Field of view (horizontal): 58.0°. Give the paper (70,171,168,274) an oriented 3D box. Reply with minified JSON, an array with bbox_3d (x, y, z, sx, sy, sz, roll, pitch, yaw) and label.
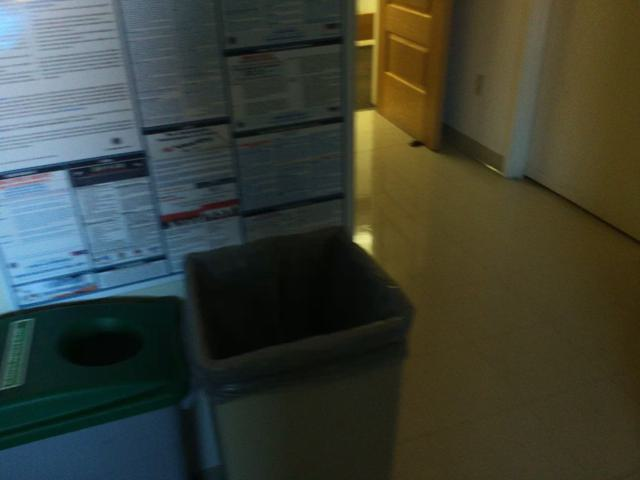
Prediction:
[{"bbox_3d":[-0.360,-0.030,1.050,0.130,0.170,0.020,-14,32,-14],"label":"paper"}]

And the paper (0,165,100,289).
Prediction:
[{"bbox_3d":[-0.490,-0.020,1.010,0.150,0.200,0.020,-14,32,-14],"label":"paper"}]

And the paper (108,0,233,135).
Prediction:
[{"bbox_3d":[-0.240,-0.300,0.950,0.160,0.230,0.020,-14,32,-14],"label":"paper"}]

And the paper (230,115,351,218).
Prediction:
[{"bbox_3d":[-0.050,-0.140,1.110,0.220,0.160,0.020,-14,32,-14],"label":"paper"}]

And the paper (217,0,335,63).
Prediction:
[{"bbox_3d":[-0.070,-0.370,0.970,0.190,0.110,0.020,-14,32,-14],"label":"paper"}]

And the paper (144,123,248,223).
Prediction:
[{"bbox_3d":[-0.220,-0.120,1.050,0.160,0.160,0.010,-14,32,-14],"label":"paper"}]

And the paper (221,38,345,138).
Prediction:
[{"bbox_3d":[-0.060,-0.270,1.030,0.210,0.140,0.020,-14,32,-14],"label":"paper"}]
